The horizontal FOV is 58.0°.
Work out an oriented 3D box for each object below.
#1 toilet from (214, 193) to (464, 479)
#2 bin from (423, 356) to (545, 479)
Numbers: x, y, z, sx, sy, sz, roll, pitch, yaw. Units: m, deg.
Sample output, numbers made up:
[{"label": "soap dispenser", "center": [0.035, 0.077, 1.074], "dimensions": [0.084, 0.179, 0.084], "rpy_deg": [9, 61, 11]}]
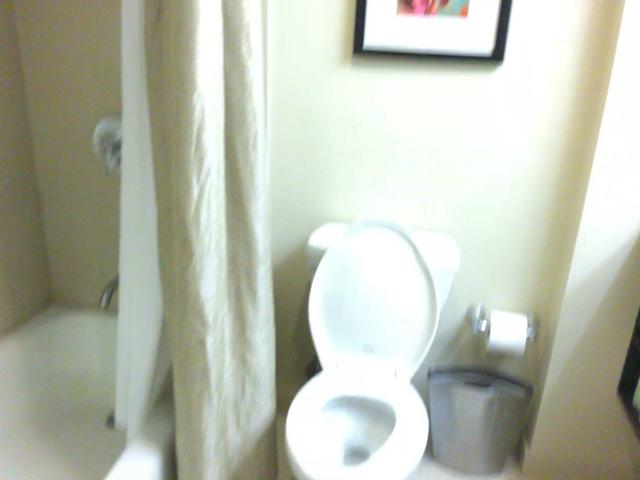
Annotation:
[{"label": "toilet", "center": [0.110, 0.400, 1.540], "dimensions": [0.460, 0.860, 0.770], "rpy_deg": [4, 20, 12]}, {"label": "bin", "center": [0.510, 0.570, 1.840], "dimensions": [0.330, 0.320, 0.170], "rpy_deg": [4, 20, 12]}]
